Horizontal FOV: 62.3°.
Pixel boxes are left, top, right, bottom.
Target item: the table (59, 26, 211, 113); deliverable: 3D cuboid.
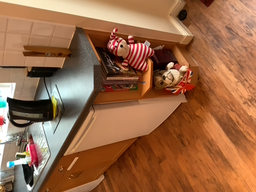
[{"bbox_3d":[0.090,-0.160,1.370,0.280,0.920,0.340,-52,55,40],"label":"table"}]
